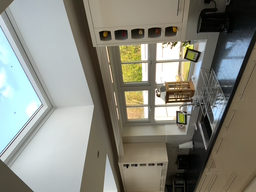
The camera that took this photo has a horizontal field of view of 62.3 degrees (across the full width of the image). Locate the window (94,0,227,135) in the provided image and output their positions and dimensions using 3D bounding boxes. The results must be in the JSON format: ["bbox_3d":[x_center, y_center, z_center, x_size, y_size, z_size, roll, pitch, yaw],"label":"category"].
[{"bbox_3d":[0.370,-0.180,2.900,2.090,1.250,0.340,84,-176,-49],"label":"window"}]
